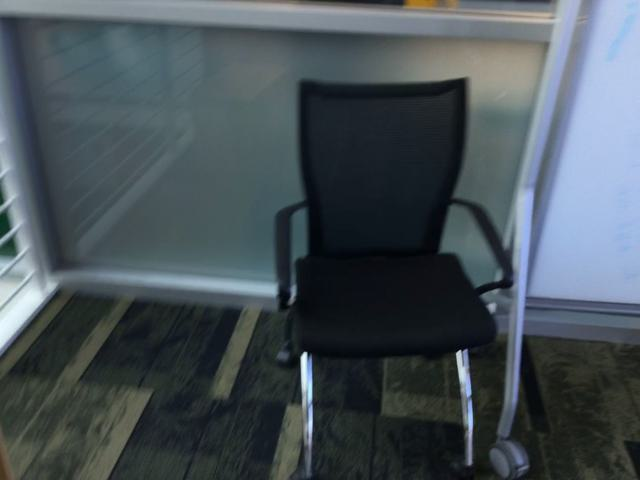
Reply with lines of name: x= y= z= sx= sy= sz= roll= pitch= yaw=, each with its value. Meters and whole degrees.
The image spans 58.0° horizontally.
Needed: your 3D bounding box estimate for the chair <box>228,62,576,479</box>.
chair: x=0.180 y=0.080 z=1.570 sx=0.640 sy=0.960 sz=0.630 roll=-1 pitch=27 yaw=3
